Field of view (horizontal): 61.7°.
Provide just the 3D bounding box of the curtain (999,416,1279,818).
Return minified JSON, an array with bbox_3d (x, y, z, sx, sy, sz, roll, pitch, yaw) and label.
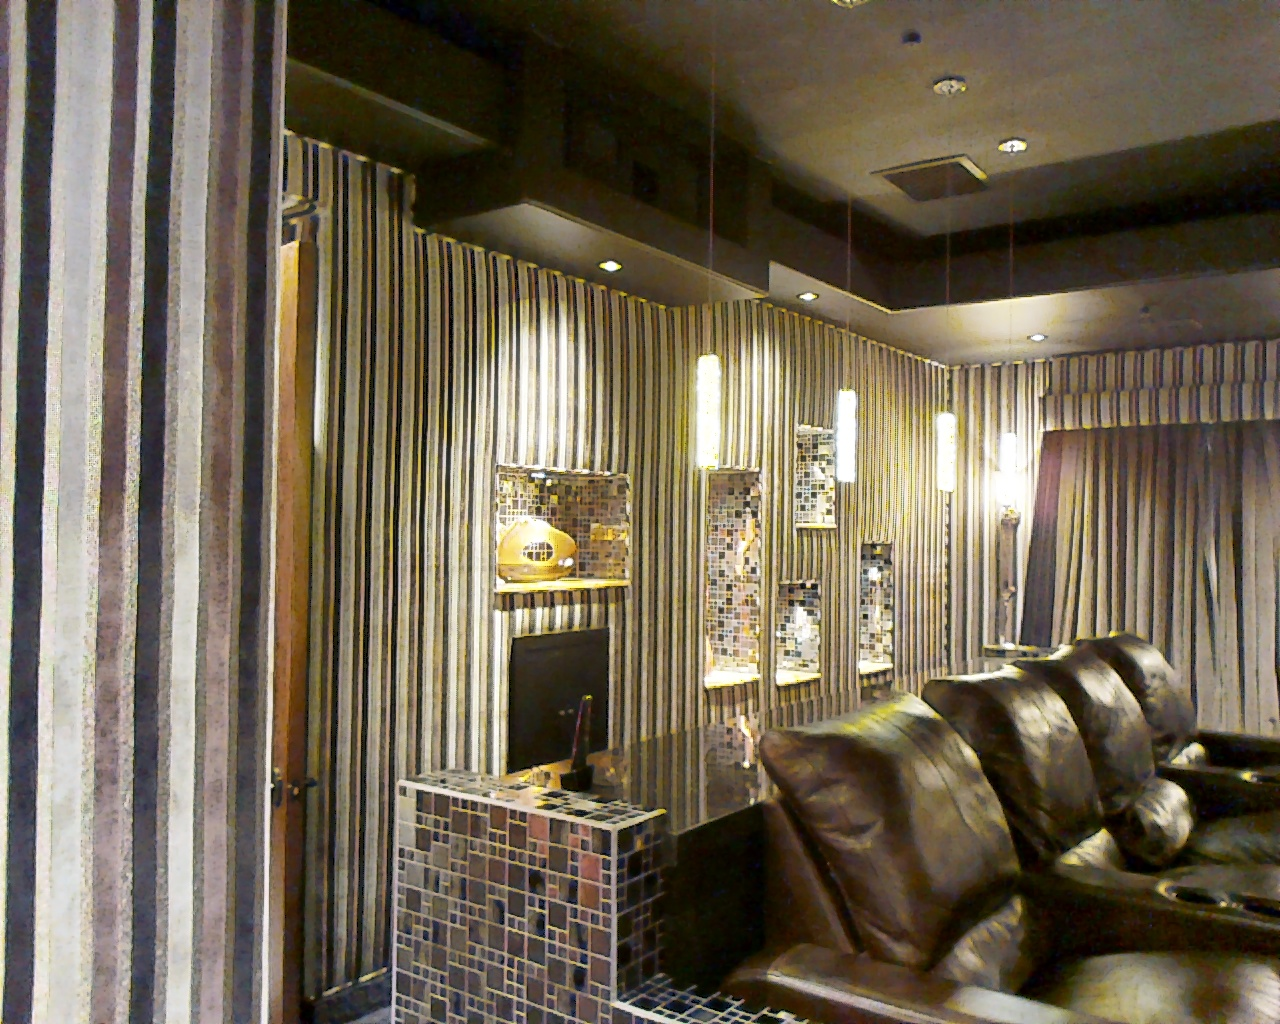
[{"bbox_3d":[3.290,0.610,6.800,1.880,2.340,0.360,0,-1,37],"label":"curtain"}]
